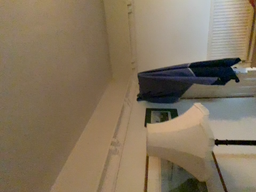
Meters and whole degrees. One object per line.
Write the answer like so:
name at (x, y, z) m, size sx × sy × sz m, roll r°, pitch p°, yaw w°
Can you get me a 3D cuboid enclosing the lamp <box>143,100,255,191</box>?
lamp at (1.090, 0.380, 1.590) m, size 0.520 × 1.900 × 0.530 m, roll -75°, pitch -18°, yaw -65°
